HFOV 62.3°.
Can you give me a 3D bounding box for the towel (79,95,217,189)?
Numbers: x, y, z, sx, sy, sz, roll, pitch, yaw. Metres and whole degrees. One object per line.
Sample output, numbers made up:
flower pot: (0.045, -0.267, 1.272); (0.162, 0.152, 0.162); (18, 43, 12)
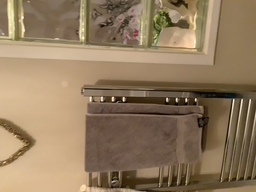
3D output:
towel: (0.070, 0.160, 0.820); (0.120, 0.500, 0.310); (-144, 55, -73)
